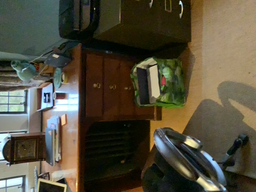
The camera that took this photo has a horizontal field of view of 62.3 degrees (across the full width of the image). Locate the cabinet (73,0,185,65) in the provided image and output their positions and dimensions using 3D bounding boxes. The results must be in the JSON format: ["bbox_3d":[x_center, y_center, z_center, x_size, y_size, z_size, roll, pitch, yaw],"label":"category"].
[{"bbox_3d":[-0.010,-0.600,1.830,0.670,0.700,0.490,-4,86,53],"label":"cabinet"}]
